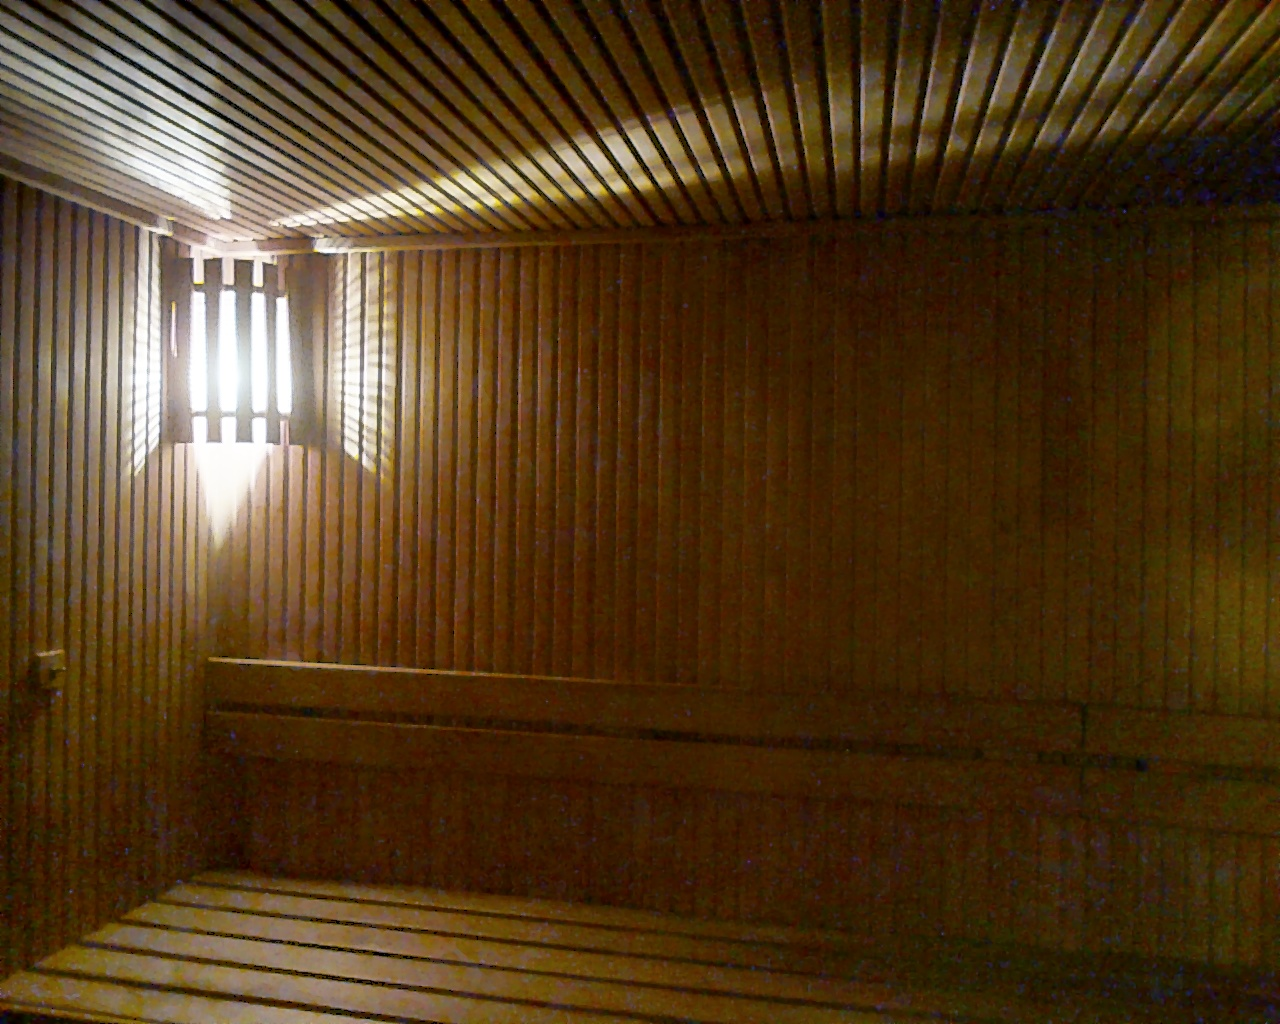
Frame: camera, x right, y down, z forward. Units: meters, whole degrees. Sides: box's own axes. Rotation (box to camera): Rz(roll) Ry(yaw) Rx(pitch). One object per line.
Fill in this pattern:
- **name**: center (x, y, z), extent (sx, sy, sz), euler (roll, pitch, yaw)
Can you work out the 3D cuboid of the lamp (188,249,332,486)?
- **lamp**: center (-0.730, -0.270, 2.080), extent (0.200, 0.430, 0.160), euler (1, -1, 13)
